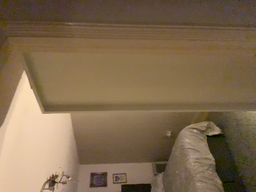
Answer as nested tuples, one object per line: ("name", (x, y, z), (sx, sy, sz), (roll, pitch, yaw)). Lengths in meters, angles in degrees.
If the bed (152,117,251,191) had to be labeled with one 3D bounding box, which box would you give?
("bed", (0.940, 1.650, 3.240), (2.250, 0.620, 1.560), (95, 173, -45))
